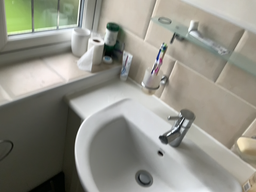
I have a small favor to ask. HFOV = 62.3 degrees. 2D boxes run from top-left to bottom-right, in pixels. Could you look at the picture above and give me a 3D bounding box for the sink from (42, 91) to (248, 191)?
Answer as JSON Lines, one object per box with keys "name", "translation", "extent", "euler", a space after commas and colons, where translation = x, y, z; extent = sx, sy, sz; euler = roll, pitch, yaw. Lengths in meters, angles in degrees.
{"name": "sink", "translation": [0.040, 0.250, 0.700], "extent": [0.540, 0.160, 0.380], "euler": [38, 41, 25]}
